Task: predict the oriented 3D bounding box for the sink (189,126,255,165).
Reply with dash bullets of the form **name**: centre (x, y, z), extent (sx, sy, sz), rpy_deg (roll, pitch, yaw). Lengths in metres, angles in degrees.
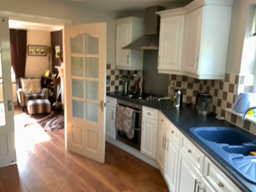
- **sink**: centre (0.830, 0.400, 1.810), extent (0.450, 0.160, 0.430), rpy_deg (1, 11, -6)
